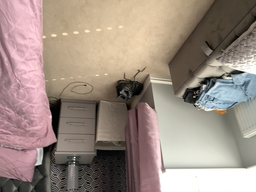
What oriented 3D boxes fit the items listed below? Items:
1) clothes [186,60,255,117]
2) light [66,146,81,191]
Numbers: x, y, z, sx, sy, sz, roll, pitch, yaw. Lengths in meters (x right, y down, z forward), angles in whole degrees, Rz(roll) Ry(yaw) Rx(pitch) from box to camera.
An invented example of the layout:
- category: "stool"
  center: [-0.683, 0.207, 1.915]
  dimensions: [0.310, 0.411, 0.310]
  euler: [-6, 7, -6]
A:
- category: "clothes"
  center: [0.760, -0.030, 1.610]
  dimensions: [0.420, 0.170, 0.490]
  euler: [4, 149, -14]
- category: "light"
  center: [-0.580, 0.770, 2.260]
  dimensions: [0.120, 0.410, 0.230]
  euler: [5, 149, -16]
